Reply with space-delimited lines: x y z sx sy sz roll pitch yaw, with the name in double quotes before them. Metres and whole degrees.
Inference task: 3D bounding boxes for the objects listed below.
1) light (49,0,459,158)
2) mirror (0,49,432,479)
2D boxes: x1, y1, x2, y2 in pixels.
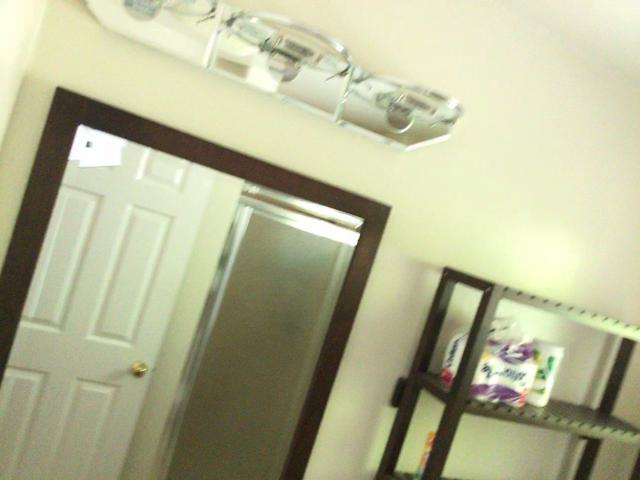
"light" -0.100 -0.360 1.110 0.780 0.130 0.150 20 0 -24
"mirror" -0.280 0.270 1.140 0.750 1.000 0.140 20 0 -24
